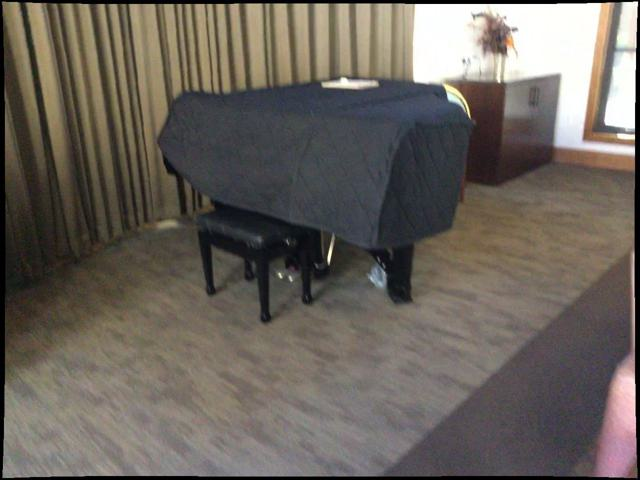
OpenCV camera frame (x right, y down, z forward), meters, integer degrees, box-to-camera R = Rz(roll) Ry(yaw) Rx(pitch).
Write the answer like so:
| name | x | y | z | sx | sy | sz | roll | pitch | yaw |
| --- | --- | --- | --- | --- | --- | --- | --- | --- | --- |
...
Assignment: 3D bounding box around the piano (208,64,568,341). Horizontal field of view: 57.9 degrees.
| name | x | y | z | sx | sy | sz | roll | pitch | yaw |
| --- | --- | --- | --- | --- | --- | --- | --- | --- | --- |
| piano | 0.470 | -0.380 | 3.130 | 0.940 | 0.851 | 1.839 | 17 | 30 | 38 |
